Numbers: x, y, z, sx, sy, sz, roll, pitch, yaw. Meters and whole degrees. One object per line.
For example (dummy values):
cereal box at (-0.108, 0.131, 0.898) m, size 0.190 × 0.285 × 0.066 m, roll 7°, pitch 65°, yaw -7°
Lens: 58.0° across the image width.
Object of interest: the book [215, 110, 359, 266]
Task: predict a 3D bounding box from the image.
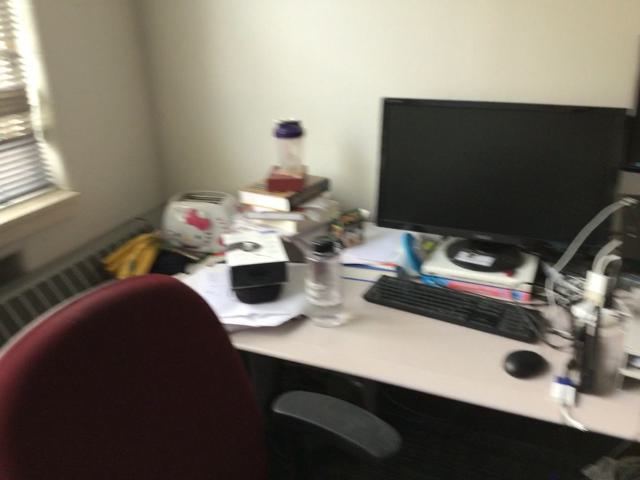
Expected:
book at (-0.080, -0.180, 1.780) m, size 0.290 × 0.380 × 0.370 m, roll 7°, pitch 22°, yaw 22°

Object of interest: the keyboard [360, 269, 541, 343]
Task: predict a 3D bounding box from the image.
keyboard at (0.340, 0.160, 1.500) m, size 0.420 × 0.040 × 0.220 m, roll 7°, pitch 22°, yaw 22°

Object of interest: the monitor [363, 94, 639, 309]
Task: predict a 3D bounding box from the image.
monitor at (0.460, -0.130, 1.570) m, size 0.640 × 0.490 × 0.230 m, roll 7°, pitch 22°, yaw 22°

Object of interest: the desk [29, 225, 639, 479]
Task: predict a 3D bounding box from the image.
desk at (0.300, 0.520, 1.660) m, size 2.030 × 0.730 × 0.780 m, roll 7°, pitch 22°, yaw 22°
